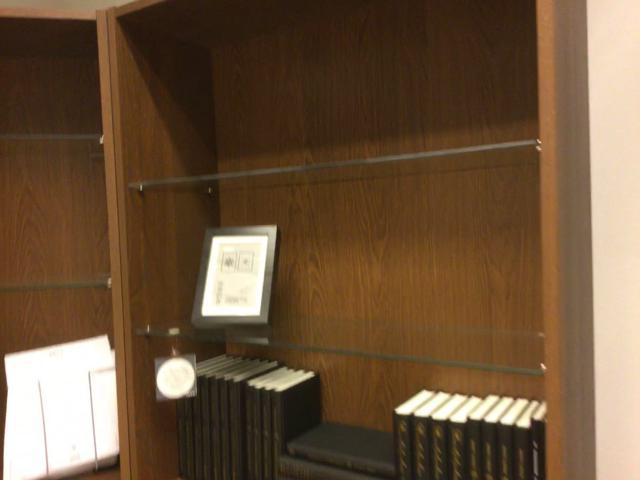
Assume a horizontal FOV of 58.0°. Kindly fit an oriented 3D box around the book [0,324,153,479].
[{"bbox_3d":[-0.560,0.360,1.280,0.310,0.280,0.260,-3,3,-7],"label":"book"}]

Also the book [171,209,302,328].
[{"bbox_3d":[-0.160,0.060,1.140,0.190,0.200,0.060,-11,24,15],"label":"book"}]

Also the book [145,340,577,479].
[{"bbox_3d":[0.040,0.360,1.030,0.740,0.270,0.220,-2,3,32],"label":"book"}]
